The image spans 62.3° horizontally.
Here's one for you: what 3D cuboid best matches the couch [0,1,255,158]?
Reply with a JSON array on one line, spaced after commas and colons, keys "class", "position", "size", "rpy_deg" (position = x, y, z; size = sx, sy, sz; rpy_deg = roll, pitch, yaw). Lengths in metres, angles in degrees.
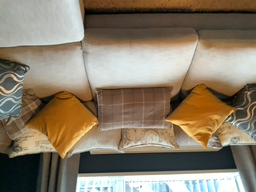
[{"class": "couch", "position": [0.110, -0.050, 1.980], "size": [2.960, 0.840, 1.250], "rpy_deg": [-1, 150, -3]}]
